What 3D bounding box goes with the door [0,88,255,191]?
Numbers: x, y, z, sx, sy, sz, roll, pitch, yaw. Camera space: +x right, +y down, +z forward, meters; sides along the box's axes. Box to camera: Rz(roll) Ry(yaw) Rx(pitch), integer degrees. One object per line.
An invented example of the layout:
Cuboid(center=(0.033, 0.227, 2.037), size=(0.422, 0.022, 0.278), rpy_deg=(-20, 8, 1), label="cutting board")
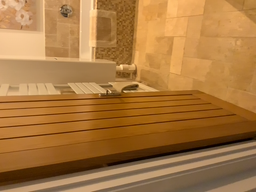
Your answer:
Cuboid(center=(0.000, 0.160, 1.250), size=(1.010, 1.940, 0.040), rpy_deg=(-140, 53, -57), label="door")
